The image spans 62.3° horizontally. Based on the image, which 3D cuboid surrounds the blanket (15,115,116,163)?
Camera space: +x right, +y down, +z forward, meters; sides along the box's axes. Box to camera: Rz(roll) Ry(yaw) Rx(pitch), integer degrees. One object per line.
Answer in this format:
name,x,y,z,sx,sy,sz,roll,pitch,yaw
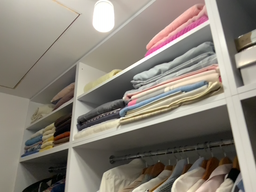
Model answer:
blanket,-0.530,0.390,1.730,0.810,0.210,0.420,-22,-30,40
